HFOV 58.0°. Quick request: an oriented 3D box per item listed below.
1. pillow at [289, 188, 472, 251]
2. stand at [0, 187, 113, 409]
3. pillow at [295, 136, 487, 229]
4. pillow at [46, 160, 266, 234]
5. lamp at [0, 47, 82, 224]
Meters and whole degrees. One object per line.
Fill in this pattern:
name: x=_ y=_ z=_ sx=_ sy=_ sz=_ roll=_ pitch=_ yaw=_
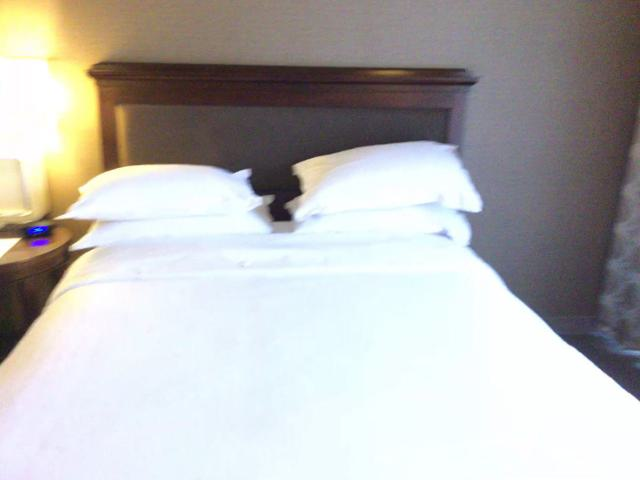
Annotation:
pillow: x=0.230 y=-0.100 z=2.510 sx=0.720 sy=0.170 sz=0.440 roll=0 pitch=16 yaw=-4
stand: x=-1.340 y=0.220 z=2.570 sx=0.580 sy=0.800 sz=0.650 roll=0 pitch=16 yaw=-4
pillow: x=0.260 y=-0.260 z=2.450 sx=0.720 sy=0.310 sz=0.470 roll=0 pitch=16 yaw=-4
pillow: x=-0.630 y=-0.200 z=2.450 sx=0.780 sy=0.190 sz=0.610 roll=0 pitch=16 yaw=-4
lamp: x=-1.300 y=-0.450 z=2.510 sx=0.380 sy=0.730 sz=0.220 roll=0 pitch=16 yaw=-4
